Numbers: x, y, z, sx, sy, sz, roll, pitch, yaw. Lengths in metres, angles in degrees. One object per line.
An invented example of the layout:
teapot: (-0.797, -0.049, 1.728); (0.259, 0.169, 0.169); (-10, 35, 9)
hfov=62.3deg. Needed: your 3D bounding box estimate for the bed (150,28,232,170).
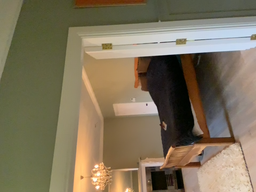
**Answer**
bed: (1.090, 0.210, 4.640); (2.210, 0.860, 2.310); (85, -179, -62)
